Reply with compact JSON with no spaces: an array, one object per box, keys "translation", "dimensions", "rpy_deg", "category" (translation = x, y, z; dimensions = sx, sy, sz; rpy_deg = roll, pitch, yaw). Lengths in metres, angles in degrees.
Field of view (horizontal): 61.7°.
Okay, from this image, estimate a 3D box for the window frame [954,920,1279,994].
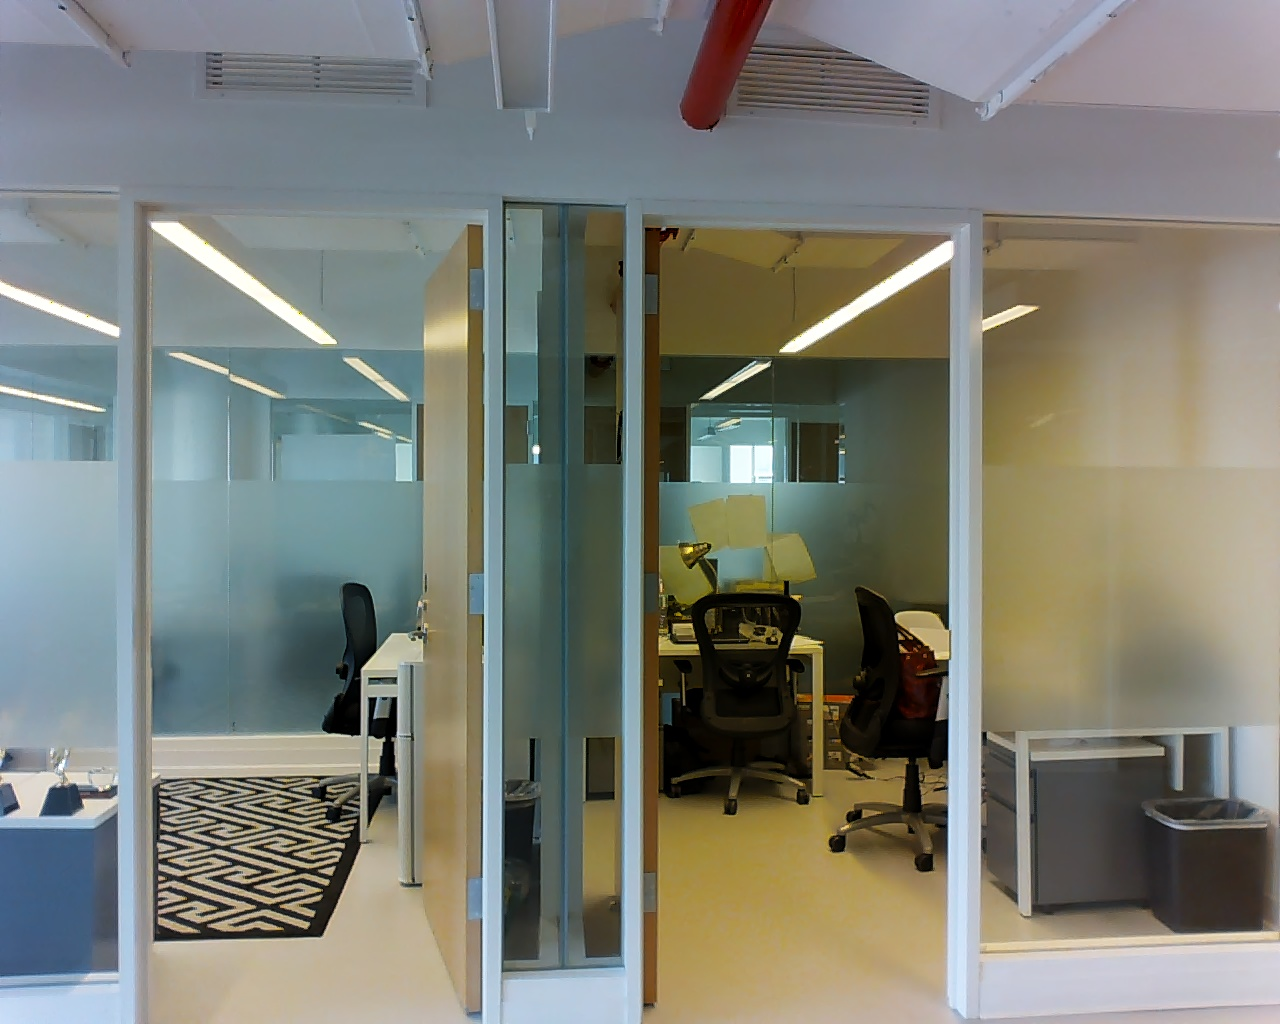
[{"translation":[1.540,1.290,3.130],"dimensions":[1.210,0.090,0.200],"rpy_deg":[0,0,-6],"category":"window frame"}]
